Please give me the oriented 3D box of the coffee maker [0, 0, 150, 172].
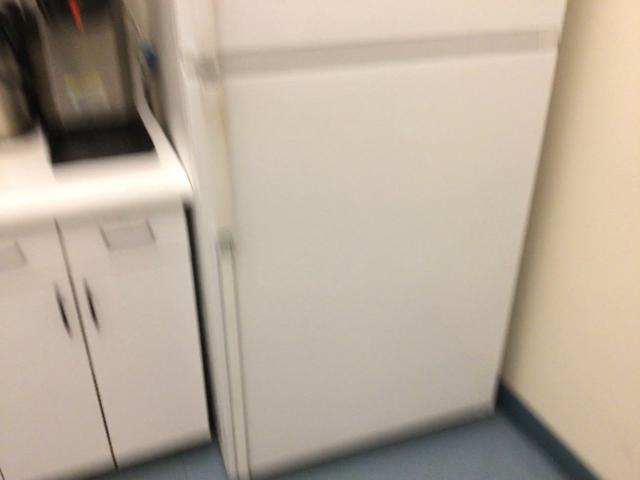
[{"bbox_3d":[-0.530,-0.400,1.240,0.220,0.370,0.380,-11,31,-21],"label":"coffee maker"}]
